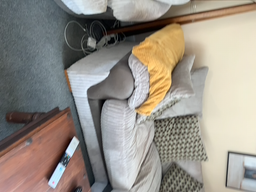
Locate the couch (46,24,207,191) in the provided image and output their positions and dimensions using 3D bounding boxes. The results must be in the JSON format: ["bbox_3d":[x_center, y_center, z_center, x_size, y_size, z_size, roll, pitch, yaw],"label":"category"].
[{"bbox_3d":[0.160,0.000,1.830,1.120,0.870,0.980,-45,132,-55],"label":"couch"}]
